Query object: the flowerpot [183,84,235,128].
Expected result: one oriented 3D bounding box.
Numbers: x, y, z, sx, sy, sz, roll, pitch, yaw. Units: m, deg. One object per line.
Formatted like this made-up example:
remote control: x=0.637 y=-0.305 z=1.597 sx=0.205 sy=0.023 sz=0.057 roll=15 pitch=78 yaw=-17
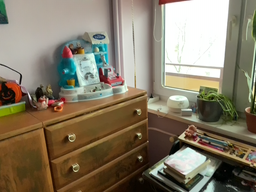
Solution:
flowerpot: x=0.560 y=0.060 z=1.490 sx=0.280 sy=0.220 sz=0.170 roll=13 pitch=22 yaw=42
